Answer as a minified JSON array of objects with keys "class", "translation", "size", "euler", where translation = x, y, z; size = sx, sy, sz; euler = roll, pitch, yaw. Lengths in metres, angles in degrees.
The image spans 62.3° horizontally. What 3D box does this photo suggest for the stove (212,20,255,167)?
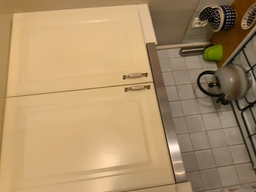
[{"class":"stove","translation":[0.630,-0.010,0.970],"size":[0.630,0.060,0.590],"euler":[98,164,-67]}]
